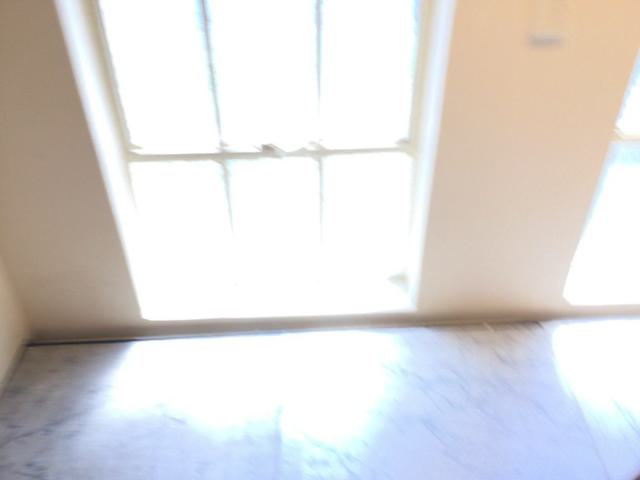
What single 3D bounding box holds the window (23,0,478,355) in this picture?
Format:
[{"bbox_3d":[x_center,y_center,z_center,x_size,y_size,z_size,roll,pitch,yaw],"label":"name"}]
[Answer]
[{"bbox_3d":[-0.130,-0.560,1.170,0.840,1.870,0.290,-4,35,0],"label":"window"}]
